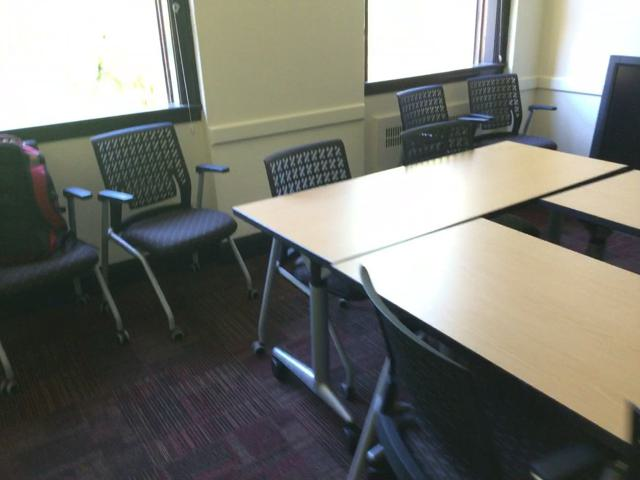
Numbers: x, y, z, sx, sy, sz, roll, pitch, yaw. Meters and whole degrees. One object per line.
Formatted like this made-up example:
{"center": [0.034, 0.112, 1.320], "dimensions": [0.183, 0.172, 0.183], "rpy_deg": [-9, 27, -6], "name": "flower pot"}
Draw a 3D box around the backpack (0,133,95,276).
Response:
{"center": [-1.220, -0.180, 2.220], "dimensions": [0.530, 0.360, 0.270], "rpy_deg": [40, -11, -26], "name": "backpack"}
